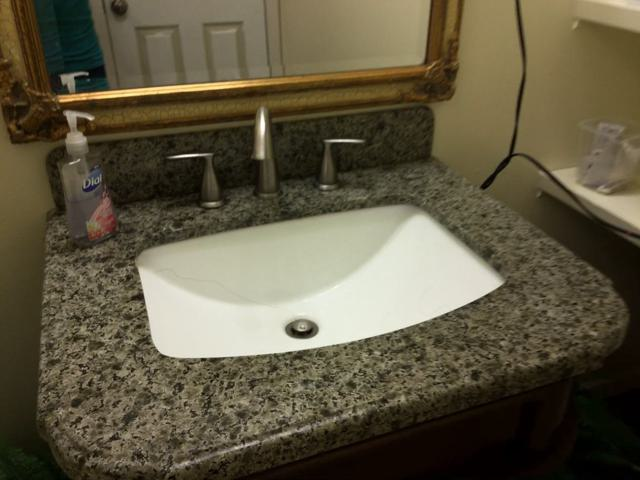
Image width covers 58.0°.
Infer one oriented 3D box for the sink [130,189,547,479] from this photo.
[{"bbox_3d":[0.000,0.110,0.830,0.470,0.190,0.340,-9,32,-19],"label":"sink"}]
